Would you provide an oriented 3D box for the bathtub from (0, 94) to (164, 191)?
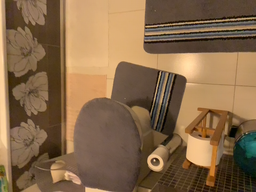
[{"bbox_3d":[-0.140,0.370,1.100,0.410,0.790,0.670,4,97,26],"label":"bathtub"}]
